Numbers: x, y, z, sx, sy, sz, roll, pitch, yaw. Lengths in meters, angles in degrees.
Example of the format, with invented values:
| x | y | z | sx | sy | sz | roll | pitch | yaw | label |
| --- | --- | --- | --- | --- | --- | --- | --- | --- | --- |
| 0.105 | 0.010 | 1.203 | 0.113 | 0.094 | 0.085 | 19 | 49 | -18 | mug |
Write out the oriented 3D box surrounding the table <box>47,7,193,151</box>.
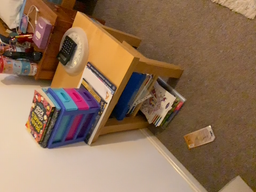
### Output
| x | y | z | sx | sy | sz | roll | pitch | yaw | label |
| --- | --- | --- | --- | --- | --- | --- | --- | --- | --- |
| -0.070 | -0.100 | 1.280 | 0.530 | 0.490 | 0.540 | 45 | 118 | 32 | table |
